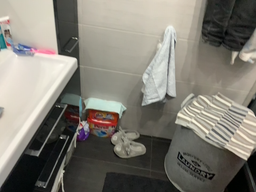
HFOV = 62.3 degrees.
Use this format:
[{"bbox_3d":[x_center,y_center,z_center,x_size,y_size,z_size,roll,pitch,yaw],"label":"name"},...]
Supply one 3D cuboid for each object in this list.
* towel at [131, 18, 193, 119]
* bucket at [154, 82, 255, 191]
[{"bbox_3d":[0.200,-0.150,1.360,0.250,0.590,0.180,15,39,8],"label":"towel"},{"bbox_3d":[0.530,0.330,1.470,0.550,0.590,0.480,12,39,4],"label":"bucket"}]
